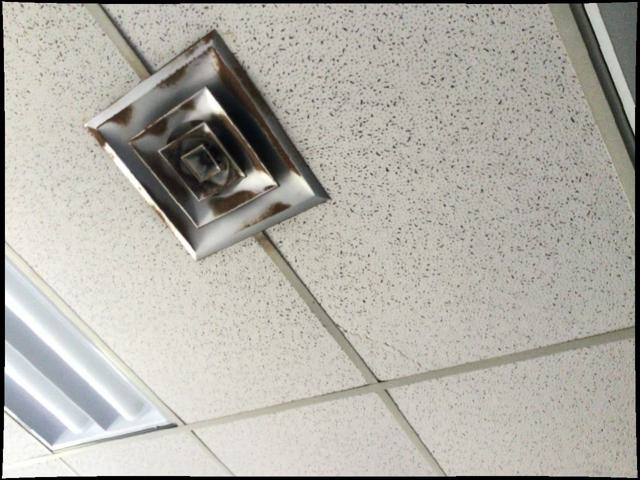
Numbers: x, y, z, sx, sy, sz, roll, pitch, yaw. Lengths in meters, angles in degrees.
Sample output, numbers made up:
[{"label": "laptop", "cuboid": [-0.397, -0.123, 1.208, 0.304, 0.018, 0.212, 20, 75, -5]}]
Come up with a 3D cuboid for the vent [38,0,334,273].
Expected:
[{"label": "vent", "cuboid": [-0.239, -0.170, 1.060, 0.359, 0.060, 0.440, -20, -63, 28]}]
